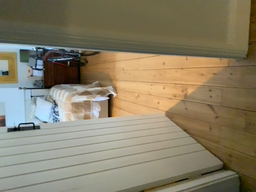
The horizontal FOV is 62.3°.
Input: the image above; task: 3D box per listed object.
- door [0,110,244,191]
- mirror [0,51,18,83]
[{"bbox_3d":[-0.280,0.360,1.310,0.870,1.900,0.050,43,129,54],"label":"door"},{"bbox_3d":[-2.820,-0.640,4.690,0.150,0.650,0.700,14,104,62],"label":"mirror"}]
